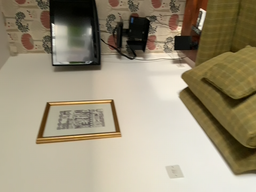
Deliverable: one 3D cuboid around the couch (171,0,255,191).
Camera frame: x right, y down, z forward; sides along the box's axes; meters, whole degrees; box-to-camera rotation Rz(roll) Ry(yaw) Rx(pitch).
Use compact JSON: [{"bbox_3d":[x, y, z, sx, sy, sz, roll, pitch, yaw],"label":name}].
[{"bbox_3d":[0.930,-0.260,1.450,1.200,0.740,1.050,-109,20,-58],"label":"couch"}]
